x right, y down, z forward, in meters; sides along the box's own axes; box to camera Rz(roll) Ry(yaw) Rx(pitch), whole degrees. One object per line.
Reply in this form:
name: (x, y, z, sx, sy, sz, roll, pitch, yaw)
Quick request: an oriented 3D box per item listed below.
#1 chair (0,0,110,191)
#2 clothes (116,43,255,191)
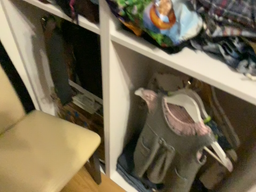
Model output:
chair: (-0.460, 0.140, 0.930, 0.580, 1.060, 0.460, 30, 50, 21)
clothes: (0.220, 0.230, 1.010, 0.430, 0.790, 0.300, 27, 49, 19)
